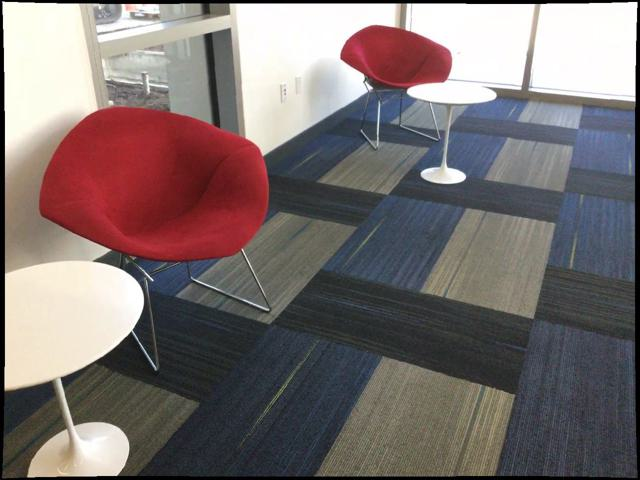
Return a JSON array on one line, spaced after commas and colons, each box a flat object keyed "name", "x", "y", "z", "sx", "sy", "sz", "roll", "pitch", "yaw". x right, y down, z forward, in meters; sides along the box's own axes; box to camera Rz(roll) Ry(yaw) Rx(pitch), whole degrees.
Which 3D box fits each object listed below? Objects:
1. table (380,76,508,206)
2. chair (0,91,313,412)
[{"name": "table", "x": 0.738, "y": -0.612, "z": 3.420, "sx": 0.559, "sy": 0.541, "sz": 0.590, "roll": 13, "pitch": 31, "yaw": 22}, {"name": "chair", "x": -0.598, "y": -0.050, "z": 2.150, "sx": 0.809, "sy": 0.731, "sz": 0.830, "roll": 19, "pitch": 33, "yaw": 31}]
